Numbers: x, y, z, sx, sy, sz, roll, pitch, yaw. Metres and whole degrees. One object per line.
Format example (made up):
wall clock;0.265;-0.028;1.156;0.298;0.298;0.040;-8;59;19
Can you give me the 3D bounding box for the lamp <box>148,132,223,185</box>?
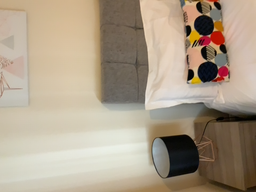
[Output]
lamp;0.380;0.400;1.450;0.270;0.400;0.260;164;103;-70
